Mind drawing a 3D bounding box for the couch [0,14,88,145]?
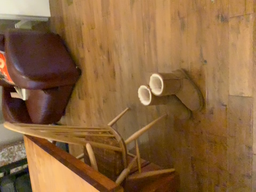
[{"bbox_3d":[-1.170,-0.180,2.400,0.880,0.830,1.060,56,135,23],"label":"couch"}]
